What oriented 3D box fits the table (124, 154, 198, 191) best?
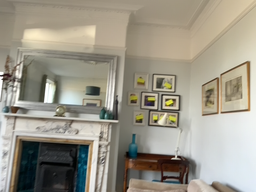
[{"bbox_3d":[0.460,1.400,3.290,1.020,0.820,0.630,5,-7,-1],"label":"table"}]
